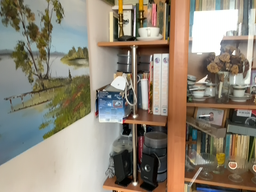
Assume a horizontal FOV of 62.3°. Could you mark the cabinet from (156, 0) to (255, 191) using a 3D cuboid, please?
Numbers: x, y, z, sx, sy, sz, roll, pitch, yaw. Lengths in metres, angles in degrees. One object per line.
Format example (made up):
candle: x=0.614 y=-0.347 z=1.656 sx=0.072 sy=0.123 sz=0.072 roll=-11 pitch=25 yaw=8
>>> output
cabinet: x=0.540 y=0.290 z=1.130 sx=0.720 sy=1.880 sz=0.370 roll=3 pitch=11 yaw=16
